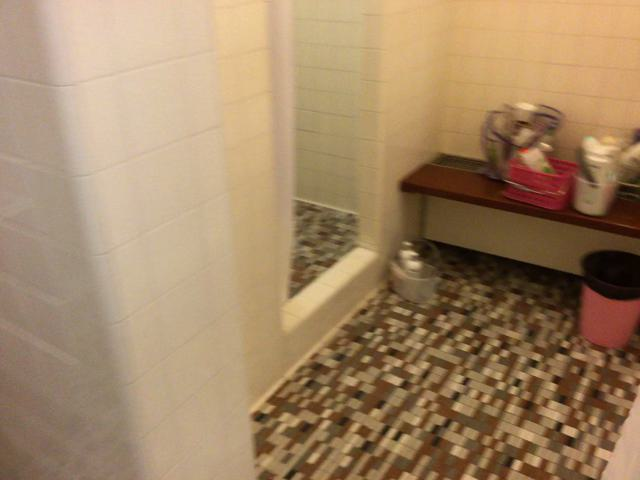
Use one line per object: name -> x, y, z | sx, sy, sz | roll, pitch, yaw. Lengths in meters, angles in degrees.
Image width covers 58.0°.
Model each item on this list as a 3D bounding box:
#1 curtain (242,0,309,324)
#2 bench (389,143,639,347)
curtain -> -0.120, -0.190, 1.740 | 0.080, 0.980, 0.130 | 16, 33, 29
bench -> 0.950, 0.010, 2.180 | 1.310, 0.450, 0.420 | 16, 33, 29
